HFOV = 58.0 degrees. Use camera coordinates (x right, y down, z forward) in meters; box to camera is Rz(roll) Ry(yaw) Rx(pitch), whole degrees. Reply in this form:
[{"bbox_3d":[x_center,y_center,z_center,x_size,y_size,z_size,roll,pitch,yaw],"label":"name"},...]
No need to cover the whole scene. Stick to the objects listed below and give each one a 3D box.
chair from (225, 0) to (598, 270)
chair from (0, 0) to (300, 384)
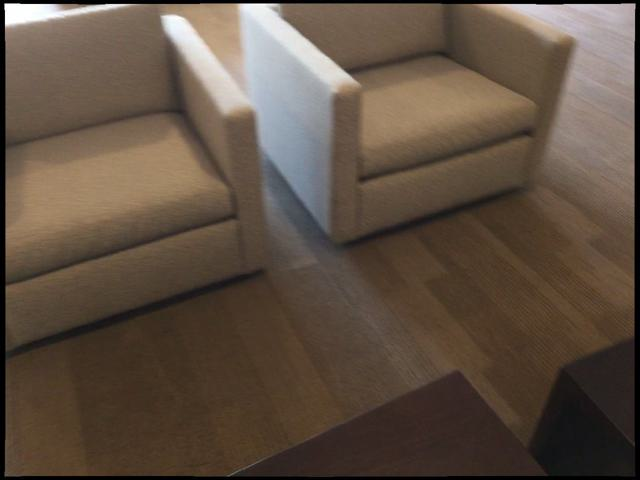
[{"bbox_3d":[0.269,-0.551,2.170,0.969,0.731,0.800,-18,44,-19],"label":"chair"},{"bbox_3d":[-0.709,-0.251,1.830,0.999,0.731,0.860,-18,44,-19],"label":"chair"}]
